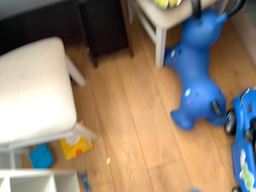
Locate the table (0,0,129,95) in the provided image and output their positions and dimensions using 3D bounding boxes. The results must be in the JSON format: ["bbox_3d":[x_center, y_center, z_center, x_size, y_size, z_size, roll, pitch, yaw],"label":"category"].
[{"bbox_3d":[-0.450,-0.490,1.080,0.750,0.740,0.630,-12,72,1],"label":"table"}]
